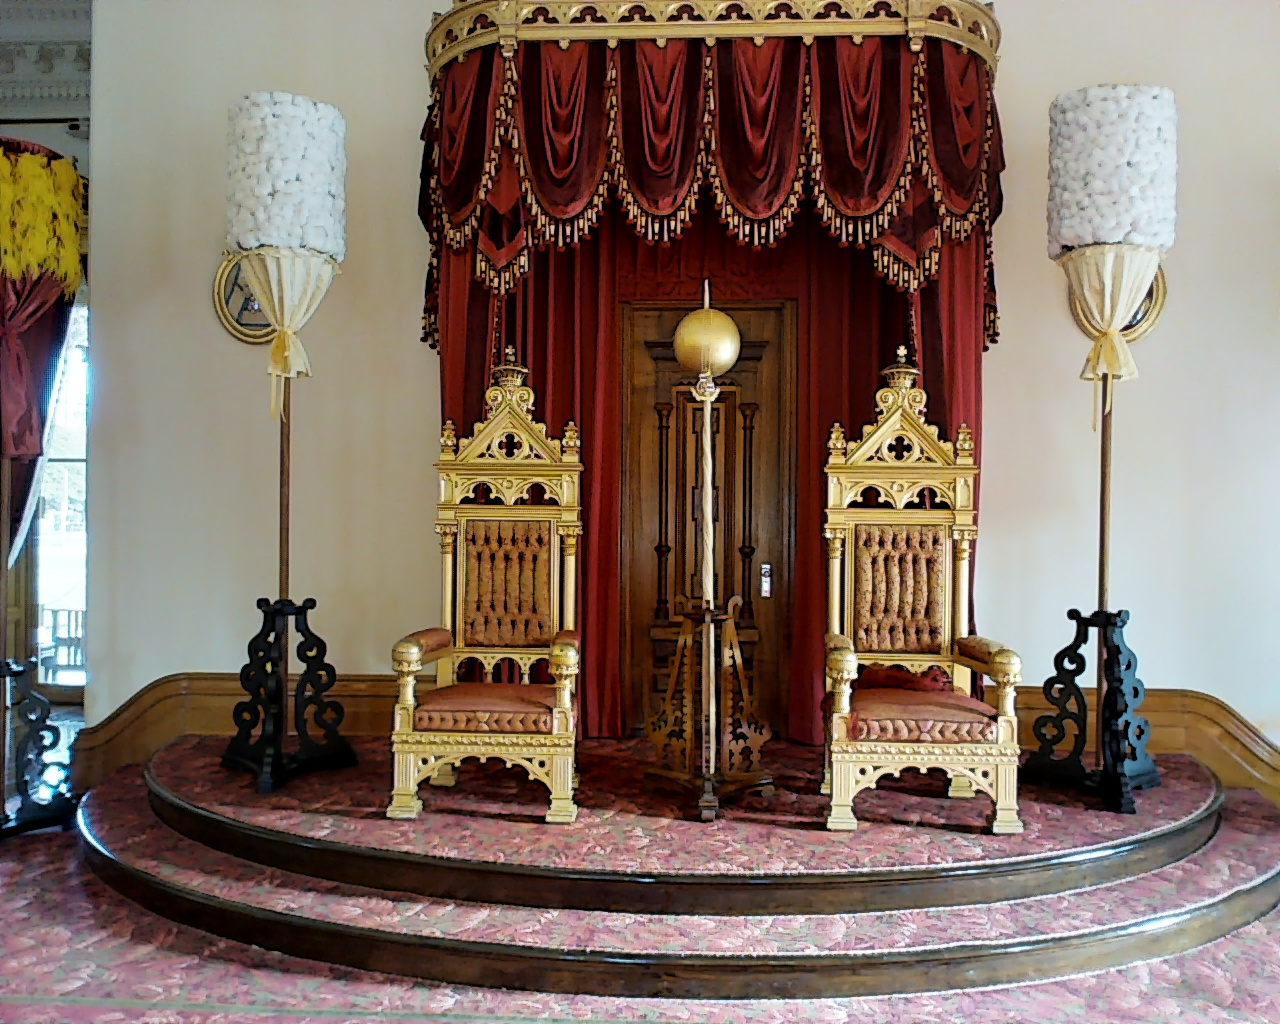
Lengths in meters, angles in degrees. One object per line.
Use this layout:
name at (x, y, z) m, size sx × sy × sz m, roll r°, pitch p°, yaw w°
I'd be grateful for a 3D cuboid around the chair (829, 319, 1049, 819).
chair at (1.230, 0.220, 4.560) m, size 0.760 × 1.950 × 0.680 m, roll 0°, pitch 0°, yaw 4°

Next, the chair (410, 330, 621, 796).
chair at (-0.510, 0.200, 4.670) m, size 0.780 × 1.860 × 0.700 m, roll 0°, pitch 0°, yaw 4°
